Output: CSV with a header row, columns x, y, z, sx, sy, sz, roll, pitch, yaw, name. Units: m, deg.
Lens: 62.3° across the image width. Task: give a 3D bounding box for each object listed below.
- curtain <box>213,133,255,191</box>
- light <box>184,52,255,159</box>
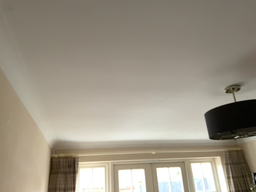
x,y,z,sx,sy,sz,roll,pitch,yaw,name
2.030,1.810,3.740,0.460,2.270,0.270,0,-22,-12,curtain
0.920,0.110,1.760,0.560,0.410,0.810,0,-46,-12,light
